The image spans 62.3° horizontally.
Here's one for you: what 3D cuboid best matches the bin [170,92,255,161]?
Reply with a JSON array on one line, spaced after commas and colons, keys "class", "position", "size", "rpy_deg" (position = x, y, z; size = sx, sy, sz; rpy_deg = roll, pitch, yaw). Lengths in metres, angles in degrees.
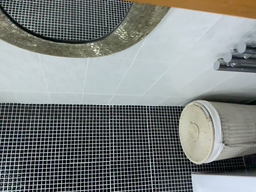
[{"class": "bin", "position": [0.710, 0.250, 1.560], "size": [0.480, 0.610, 0.400], "rpy_deg": [128, 141, -67]}]
